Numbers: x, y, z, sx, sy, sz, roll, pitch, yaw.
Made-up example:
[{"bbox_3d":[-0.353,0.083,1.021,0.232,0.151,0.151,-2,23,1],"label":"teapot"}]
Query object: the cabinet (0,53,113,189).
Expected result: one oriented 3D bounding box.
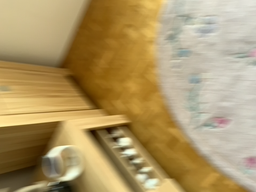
[{"bbox_3d":[-0.720,0.130,1.460,0.680,0.890,0.530,45,115,28],"label":"cabinet"}]
